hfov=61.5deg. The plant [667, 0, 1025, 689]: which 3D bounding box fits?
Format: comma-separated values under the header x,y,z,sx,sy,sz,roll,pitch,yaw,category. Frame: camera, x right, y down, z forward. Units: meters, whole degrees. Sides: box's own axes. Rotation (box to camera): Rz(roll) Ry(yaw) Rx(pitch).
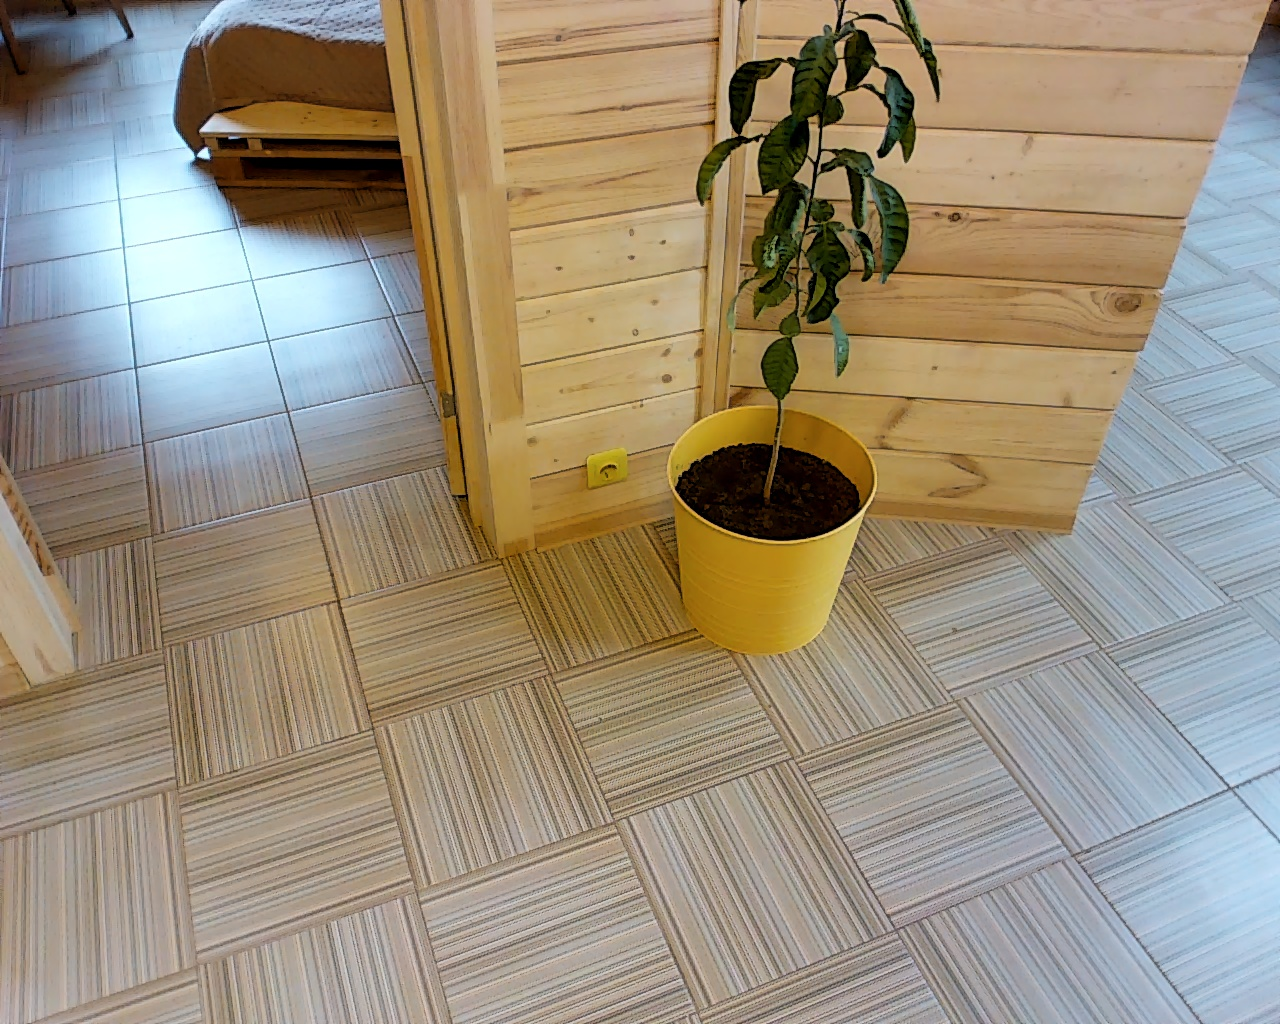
x,y,z,sx,sy,sz,roll,pitch,yaw,category
0.260,-0.320,1.740,0.370,1.310,0.450,4,42,4,plant
